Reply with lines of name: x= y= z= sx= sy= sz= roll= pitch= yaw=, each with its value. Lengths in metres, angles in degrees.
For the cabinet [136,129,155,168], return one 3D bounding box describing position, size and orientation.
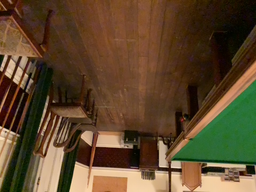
cabinet: x=0.470 y=1.400 z=5.640 sx=0.460 sy=0.900 sz=0.600 roll=2 pitch=157 yaw=3
